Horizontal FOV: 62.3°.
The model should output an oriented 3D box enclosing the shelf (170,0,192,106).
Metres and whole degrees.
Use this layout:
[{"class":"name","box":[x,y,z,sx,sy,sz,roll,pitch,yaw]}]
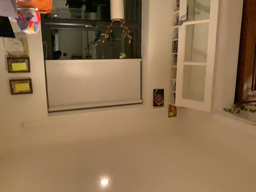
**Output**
[{"class":"shelf","box":[0.640,-0.880,2.540,0.120,2.010,0.200,-5,-168,-20]}]
